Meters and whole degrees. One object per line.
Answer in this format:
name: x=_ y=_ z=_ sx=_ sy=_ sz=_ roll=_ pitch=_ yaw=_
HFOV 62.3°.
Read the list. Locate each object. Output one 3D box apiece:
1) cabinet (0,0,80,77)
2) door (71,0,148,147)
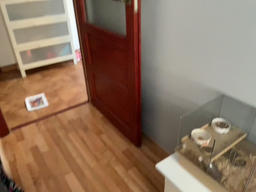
cabinet: x=-1.220 y=-0.900 z=2.990 sx=0.830 sy=0.980 sz=0.410 roll=-21 pitch=37 yaw=-29
door: x=-0.180 y=-0.630 z=1.460 sx=0.130 sy=1.950 sz=0.840 roll=-20 pitch=36 yaw=-28
